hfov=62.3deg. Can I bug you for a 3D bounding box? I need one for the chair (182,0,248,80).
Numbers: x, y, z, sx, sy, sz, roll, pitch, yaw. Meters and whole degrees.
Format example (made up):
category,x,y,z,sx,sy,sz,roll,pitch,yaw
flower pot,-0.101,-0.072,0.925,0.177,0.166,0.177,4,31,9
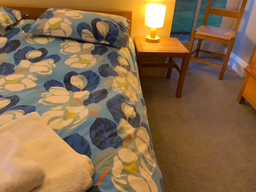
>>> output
category,x,y,z,sx,sy,sz,roll,pitch,yaw
chair,0.990,-0.730,2.420,0.450,0.880,0.510,19,35,21
